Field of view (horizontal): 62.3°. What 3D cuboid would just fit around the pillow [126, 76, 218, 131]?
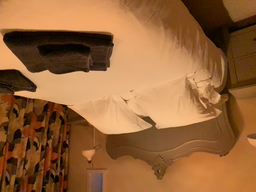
[{"bbox_3d":[0.430,0.120,2.000,0.610,0.300,0.680,-12,161,32],"label":"pillow"}]

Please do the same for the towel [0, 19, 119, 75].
[{"bbox_3d":[-0.340,-0.240,1.170,0.520,0.090,0.390,2,164,-11],"label":"towel"}]

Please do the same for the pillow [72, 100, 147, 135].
[{"bbox_3d":[-0.200,0.270,2.390,0.570,0.250,0.600,-13,160,36],"label":"pillow"}]

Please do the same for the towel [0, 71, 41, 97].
[{"bbox_3d":[-1.000,-0.080,1.550,0.590,0.090,0.330,0,164,-4],"label":"towel"}]
